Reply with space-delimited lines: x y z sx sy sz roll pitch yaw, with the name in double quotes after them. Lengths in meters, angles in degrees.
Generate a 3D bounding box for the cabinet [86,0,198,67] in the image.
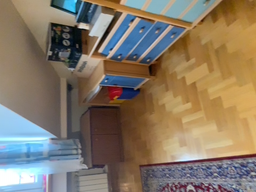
0.100 -0.740 2.320 0.810 0.900 0.420 -36 55 57 "cabinet"

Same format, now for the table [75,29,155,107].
-0.280 -0.310 3.200 1.260 0.730 0.600 -36 55 57 "table"
